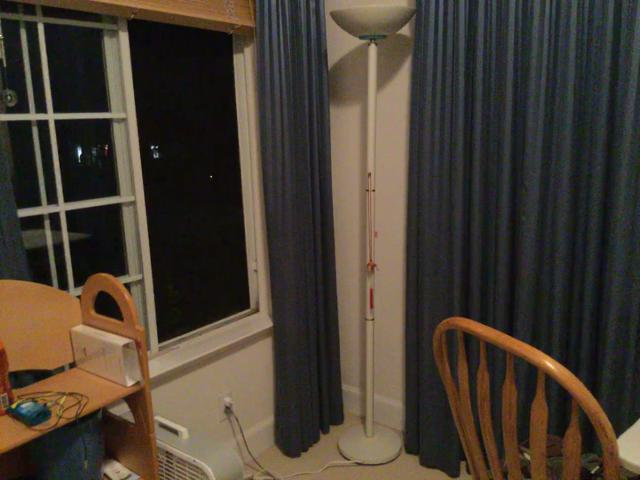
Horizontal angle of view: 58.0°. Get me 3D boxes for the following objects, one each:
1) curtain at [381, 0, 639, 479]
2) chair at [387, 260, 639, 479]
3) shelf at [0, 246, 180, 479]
[{"bbox_3d":[1.110,0.060,1.710,1.980,1.880,0.160,5,15,37],"label":"curtain"},{"bbox_3d":[0.620,0.630,1.450,0.660,0.970,0.600,-8,13,-19],"label":"chair"},{"bbox_3d":[-0.780,0.610,1.450,0.430,1.030,0.700,5,15,37],"label":"shelf"}]
